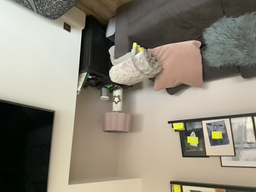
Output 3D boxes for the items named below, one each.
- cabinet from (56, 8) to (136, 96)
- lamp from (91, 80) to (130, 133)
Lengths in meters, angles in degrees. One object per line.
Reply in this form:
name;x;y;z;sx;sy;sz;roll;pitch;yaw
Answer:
cabinet;-0.370;-0.510;2.850;0.510;0.750;0.930;-11;160;36
lamp;-0.220;0.150;2.780;0.360;0.600;0.330;-12;160;37
